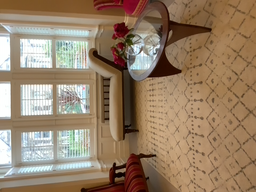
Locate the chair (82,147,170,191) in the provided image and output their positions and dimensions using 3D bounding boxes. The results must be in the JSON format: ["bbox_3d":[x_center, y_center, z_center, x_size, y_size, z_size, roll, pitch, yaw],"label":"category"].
[{"bbox_3d":[-0.100,1.250,2.800,0.670,0.950,0.880,-106,20,-44],"label":"chair"}]
